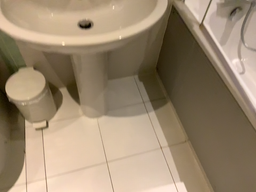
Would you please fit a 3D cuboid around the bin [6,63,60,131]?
[{"bbox_3d":[-0.540,0.010,1.230,0.200,0.290,0.240,-12,58,-14],"label":"bin"}]
